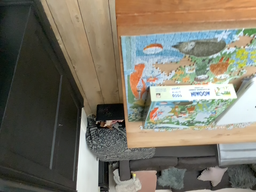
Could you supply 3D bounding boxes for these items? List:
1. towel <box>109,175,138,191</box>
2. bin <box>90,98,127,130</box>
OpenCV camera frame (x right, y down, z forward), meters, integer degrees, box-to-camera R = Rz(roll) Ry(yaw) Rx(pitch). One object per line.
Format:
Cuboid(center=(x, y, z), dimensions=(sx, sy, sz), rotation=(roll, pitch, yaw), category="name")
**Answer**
Cuboid(center=(-0.070, 1.630, 3.940), dimensions=(0.500, 0.230, 0.490), rotation=(-4, 153, 0), category="towel")
Cuboid(center=(-0.220, 0.220, 2.540), dimensions=(0.390, 0.240, 0.360), rotation=(-4, 153, 0), category="bin")
